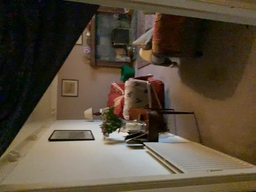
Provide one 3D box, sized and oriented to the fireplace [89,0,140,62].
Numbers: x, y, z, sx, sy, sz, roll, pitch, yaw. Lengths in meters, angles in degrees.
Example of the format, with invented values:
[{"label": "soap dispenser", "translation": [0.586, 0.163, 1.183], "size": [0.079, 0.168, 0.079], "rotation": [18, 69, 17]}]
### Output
[{"label": "fireplace", "translation": [-0.390, -1.920, 5.940], "size": [0.770, 1.280, 1.760], "rotation": [177, 94, -76]}]
